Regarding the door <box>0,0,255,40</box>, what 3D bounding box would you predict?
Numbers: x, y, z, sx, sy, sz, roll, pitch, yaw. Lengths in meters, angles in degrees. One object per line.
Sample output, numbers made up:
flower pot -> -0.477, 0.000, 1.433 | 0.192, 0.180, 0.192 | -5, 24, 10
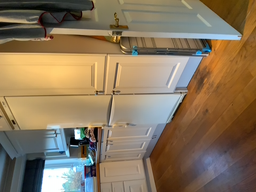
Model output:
door -> -0.250, -0.660, 1.540 | 0.990, 2.050, 0.090 | -108, 20, -52
